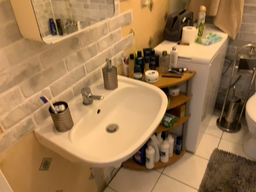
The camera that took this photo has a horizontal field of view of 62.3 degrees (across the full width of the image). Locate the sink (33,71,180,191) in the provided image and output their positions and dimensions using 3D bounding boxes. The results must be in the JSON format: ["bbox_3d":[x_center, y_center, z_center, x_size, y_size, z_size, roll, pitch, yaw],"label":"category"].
[{"bbox_3d":[-0.060,0.100,1.010,0.410,0.130,0.580,17,39,28],"label":"sink"}]
